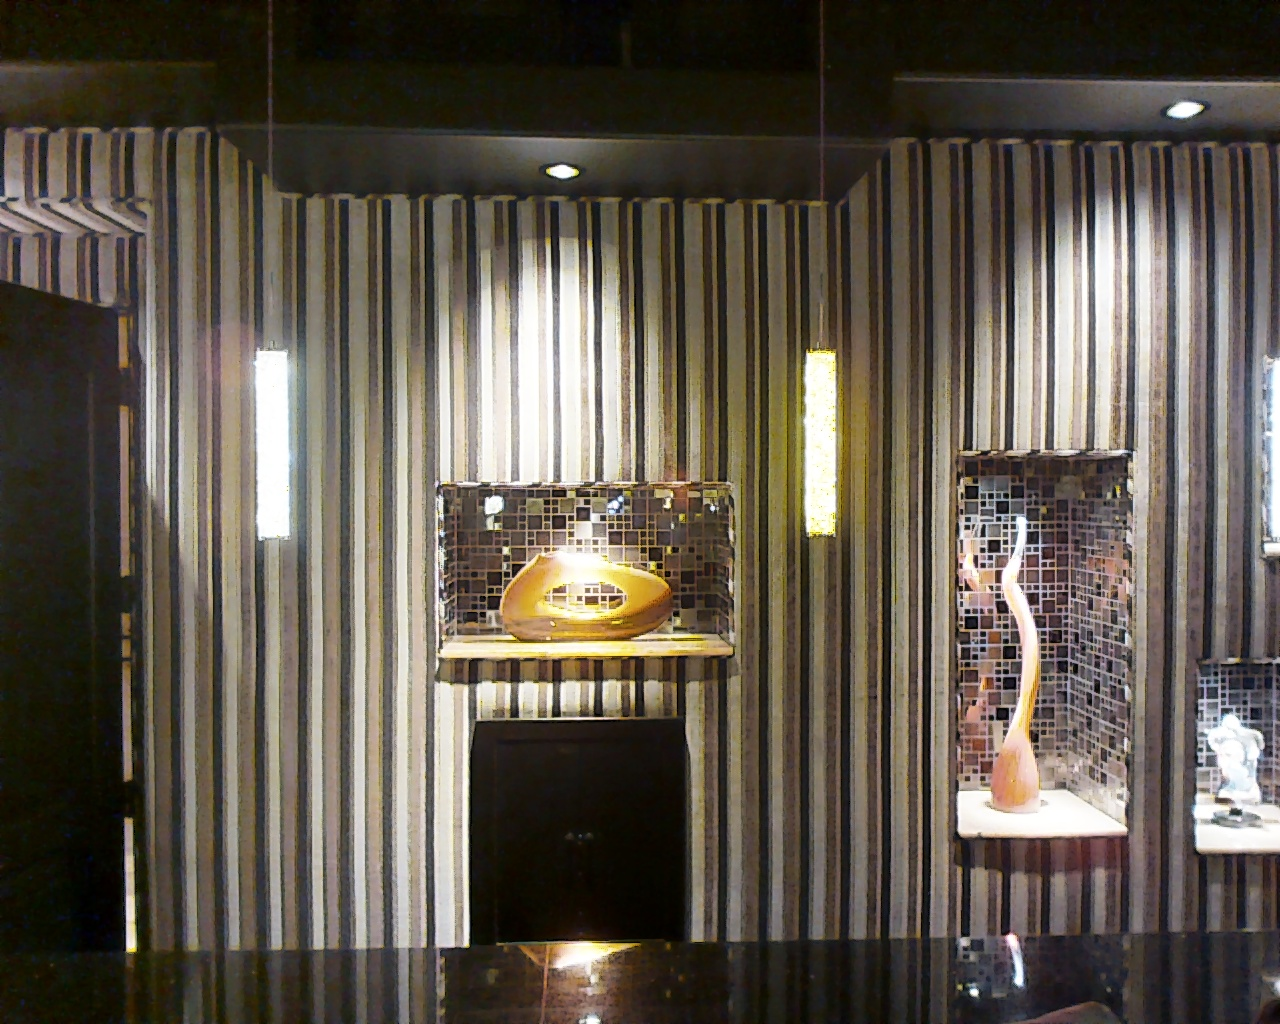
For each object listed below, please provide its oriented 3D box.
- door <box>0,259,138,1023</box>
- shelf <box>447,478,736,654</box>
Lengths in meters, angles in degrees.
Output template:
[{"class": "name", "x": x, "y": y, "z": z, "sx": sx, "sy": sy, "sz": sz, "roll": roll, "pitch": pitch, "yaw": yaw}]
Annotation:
[{"class": "door", "x": -1.660, "y": 0.570, "z": 2.930, "sx": 0.150, "sy": 2.420, "sz": 0.740, "roll": 0, "pitch": 1, "yaw": 5}, {"class": "shelf", "x": -0.140, "y": 0.150, "z": 3.190, "sx": 0.820, "sy": 0.500, "sz": 0.280, "roll": 0, "pitch": 1, "yaw": -2}]
